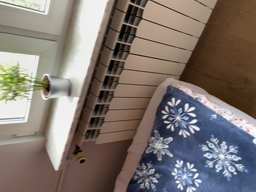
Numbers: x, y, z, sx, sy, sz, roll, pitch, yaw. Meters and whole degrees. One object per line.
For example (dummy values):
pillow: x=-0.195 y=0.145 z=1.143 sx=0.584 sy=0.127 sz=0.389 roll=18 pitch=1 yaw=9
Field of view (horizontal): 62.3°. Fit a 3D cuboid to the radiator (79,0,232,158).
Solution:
radiator: x=0.140 y=-0.150 z=1.240 sx=0.180 sy=0.550 sz=1.080 roll=44 pitch=121 yaw=40
